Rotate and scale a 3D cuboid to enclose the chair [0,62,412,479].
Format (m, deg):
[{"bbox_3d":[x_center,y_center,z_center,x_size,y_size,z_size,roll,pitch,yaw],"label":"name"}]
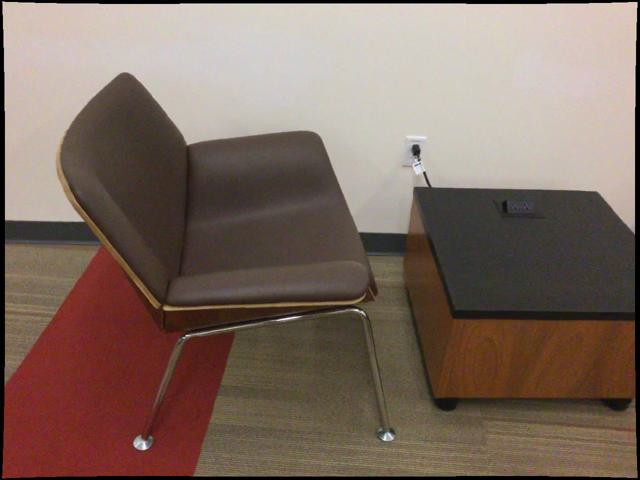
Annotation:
[{"bbox_3d":[-0.229,0.030,1.590,0.738,0.761,0.891,-1,34,-3],"label":"chair"}]

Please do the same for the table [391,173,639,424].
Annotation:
[{"bbox_3d":[0.648,0.150,1.820,0.698,0.441,0.691,1,33,-4],"label":"table"}]
